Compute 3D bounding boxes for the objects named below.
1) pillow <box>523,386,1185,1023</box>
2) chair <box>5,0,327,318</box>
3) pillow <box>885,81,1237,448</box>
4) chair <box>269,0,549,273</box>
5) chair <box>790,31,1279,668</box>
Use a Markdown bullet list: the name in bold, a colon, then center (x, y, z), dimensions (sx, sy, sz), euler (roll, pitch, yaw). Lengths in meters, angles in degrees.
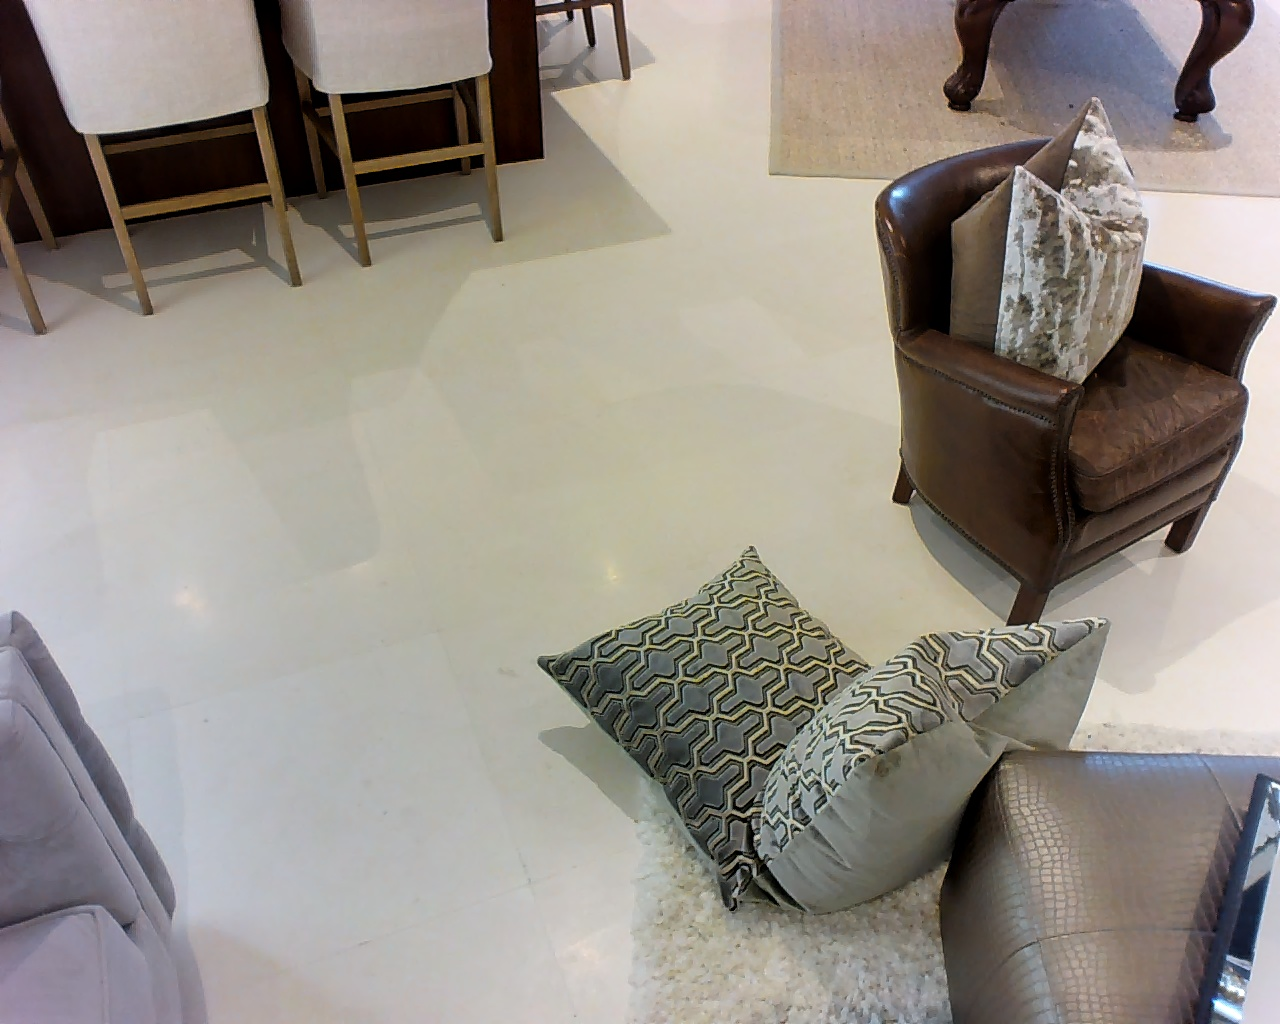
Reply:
- **pillow**: center (0.290, 0.280, 1.770), dimensions (0.620, 0.500, 0.770), euler (-25, 47, -26)
- **chair**: center (-1.320, -1.230, 2.970), dimensions (0.570, 1.070, 0.700), euler (-15, 43, -16)
- **pillow**: center (0.810, -0.500, 2.100), dimensions (0.400, 0.460, 0.480), euler (27, 48, 27)
- **chair**: center (-0.710, -1.400, 3.170), dimensions (0.650, 1.080, 0.650), euler (-15, 43, -16)
- **chair**: center (0.860, -0.360, 2.200), dimensions (0.690, 0.890, 0.760), euler (-23, 46, -24)
